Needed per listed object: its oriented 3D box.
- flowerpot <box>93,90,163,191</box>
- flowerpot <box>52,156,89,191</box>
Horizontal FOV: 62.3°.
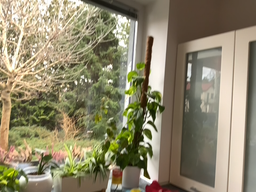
[{"bbox_3d":[0.000,0.300,1.560,0.360,0.650,0.300,6,-2,-37],"label":"flowerpot"},{"bbox_3d":[-0.360,0.500,1.310,0.140,0.190,0.210,6,-2,-37],"label":"flowerpot"}]
